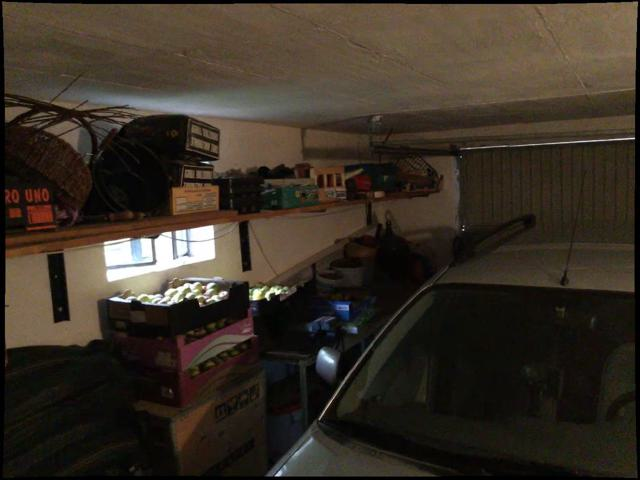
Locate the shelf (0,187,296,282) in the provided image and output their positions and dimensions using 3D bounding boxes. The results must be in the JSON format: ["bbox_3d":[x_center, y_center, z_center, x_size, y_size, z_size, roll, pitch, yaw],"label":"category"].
[{"bbox_3d":[-0.949,0.000,1.850,0.370,0.170,2.639,1,9,30],"label":"shelf"}]
